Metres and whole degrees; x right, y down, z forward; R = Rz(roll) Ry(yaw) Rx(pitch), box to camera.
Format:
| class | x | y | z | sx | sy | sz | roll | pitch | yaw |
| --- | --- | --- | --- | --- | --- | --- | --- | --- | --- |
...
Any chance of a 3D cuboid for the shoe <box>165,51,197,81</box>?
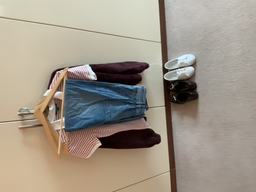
| class | x | y | z | sx | sy | sz | roll | pitch | yaw |
| --- | --- | --- | --- | --- | --- | --- | --- | --- | --- |
| shoe | 0.390 | -0.220 | 1.590 | 0.230 | 0.070 | 0.190 | -3 | 91 | 52 |

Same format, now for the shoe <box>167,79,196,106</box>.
| class | x | y | z | sx | sy | sz | roll | pitch | yaw |
| --- | --- | --- | --- | --- | --- | --- | --- | --- | --- |
| shoe | 0.400 | -0.030 | 1.590 | 0.210 | 0.070 | 0.190 | 2 | 94 | 52 |
